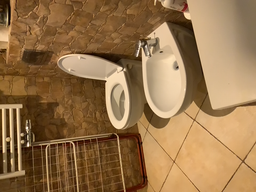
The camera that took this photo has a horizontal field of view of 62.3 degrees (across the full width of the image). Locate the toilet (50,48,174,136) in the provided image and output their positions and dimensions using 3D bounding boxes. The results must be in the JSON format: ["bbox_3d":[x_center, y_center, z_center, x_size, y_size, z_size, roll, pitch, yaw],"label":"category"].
[{"bbox_3d":[-0.120,-0.010,1.640,0.380,0.820,0.510,-26,69,55],"label":"toilet"}]
